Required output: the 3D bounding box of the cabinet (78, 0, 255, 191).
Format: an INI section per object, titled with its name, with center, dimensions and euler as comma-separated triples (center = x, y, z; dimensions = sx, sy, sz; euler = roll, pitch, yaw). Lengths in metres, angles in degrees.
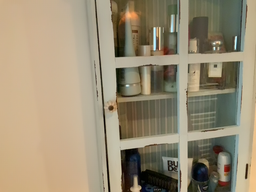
[cabinet]
center = 0.110, 0.010, 0.500
dimensions = 0.400, 0.640, 0.150
euler = -5, 12, -12
